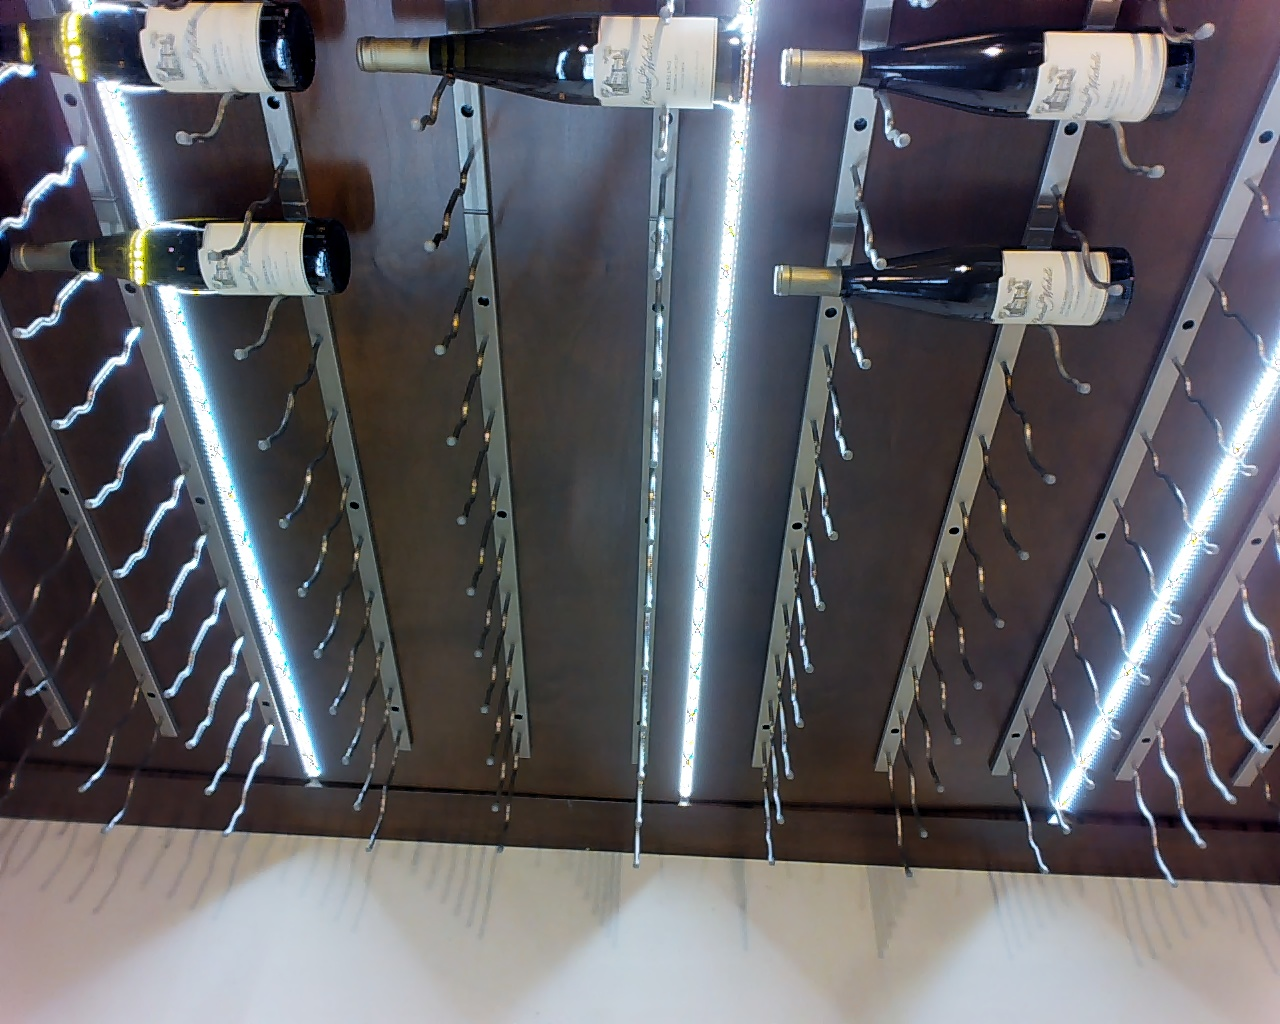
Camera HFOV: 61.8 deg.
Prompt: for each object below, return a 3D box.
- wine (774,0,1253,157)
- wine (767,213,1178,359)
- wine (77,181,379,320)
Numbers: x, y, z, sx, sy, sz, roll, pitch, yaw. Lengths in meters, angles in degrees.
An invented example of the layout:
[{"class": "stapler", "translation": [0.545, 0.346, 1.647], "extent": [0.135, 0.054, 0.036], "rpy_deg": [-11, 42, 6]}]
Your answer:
[{"class": "wine", "translation": [0.300, -0.380, 0.910], "extent": [0.360, 0.100, 0.100], "rpy_deg": [4, 41, 3]}, {"class": "wine", "translation": [0.310, -0.220, 1.040], "extent": [0.360, 0.090, 0.090], "rpy_deg": [3, 41, 2]}, {"class": "wine", "translation": [-0.400, -0.260, 1.060], "extent": [0.250, 0.090, 0.090], "rpy_deg": [3, 41, 2]}]
